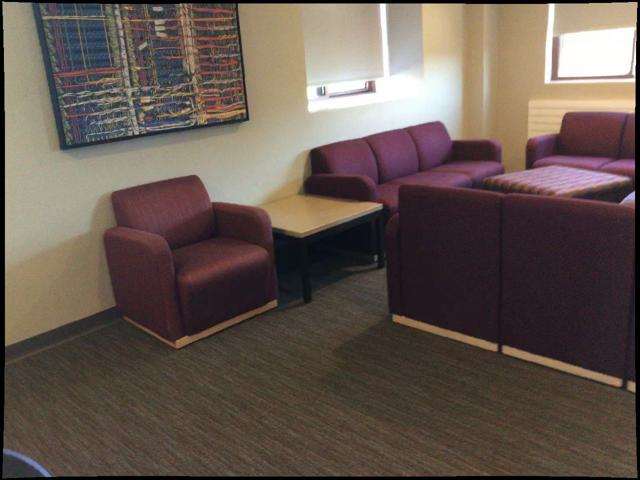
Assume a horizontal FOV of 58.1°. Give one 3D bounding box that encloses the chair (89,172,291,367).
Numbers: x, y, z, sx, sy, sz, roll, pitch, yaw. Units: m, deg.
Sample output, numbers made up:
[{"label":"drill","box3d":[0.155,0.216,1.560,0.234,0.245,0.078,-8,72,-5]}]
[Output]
[{"label":"chair","box3d":[-0.728,0.100,3.320,0.789,0.802,0.759,-17,23,-42]}]
